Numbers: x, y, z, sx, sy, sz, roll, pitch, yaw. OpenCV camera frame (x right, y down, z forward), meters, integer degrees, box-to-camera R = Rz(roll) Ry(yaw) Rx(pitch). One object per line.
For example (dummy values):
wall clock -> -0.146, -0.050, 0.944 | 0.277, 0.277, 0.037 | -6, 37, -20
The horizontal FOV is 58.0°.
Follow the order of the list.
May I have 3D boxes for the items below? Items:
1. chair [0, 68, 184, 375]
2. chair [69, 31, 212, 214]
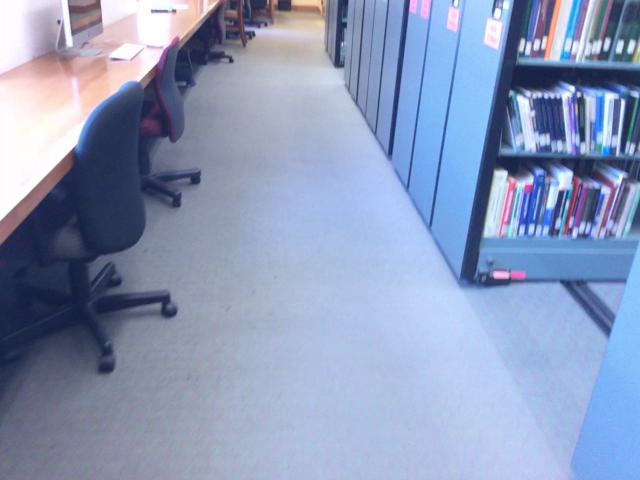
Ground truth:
chair -> -0.850, -0.090, 2.040 | 0.620, 0.920, 0.590 | 2, 20, -5
chair -> -0.960, -0.690, 3.290 | 0.610, 0.890, 0.670 | 2, 20, -5
